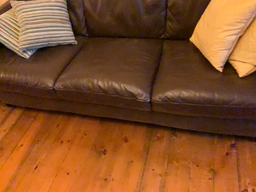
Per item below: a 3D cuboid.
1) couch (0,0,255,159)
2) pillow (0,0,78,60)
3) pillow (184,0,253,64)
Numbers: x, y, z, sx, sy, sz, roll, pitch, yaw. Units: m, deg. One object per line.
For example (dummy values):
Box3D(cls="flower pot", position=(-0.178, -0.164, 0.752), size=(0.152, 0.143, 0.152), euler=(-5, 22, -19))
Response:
Box3D(cls="couch", position=(-0.050, -0.400, 1.550), size=(2.110, 0.860, 1.070), euler=(6, 48, 14))
Box3D(cls="pillow", position=(-0.630, -0.530, 1.510), size=(0.380, 0.400, 0.100), euler=(28, -4, -21))
Box3D(cls="pillow", position=(0.500, -0.420, 1.240), size=(0.120, 0.380, 0.400), euler=(-4, 21, -13))
